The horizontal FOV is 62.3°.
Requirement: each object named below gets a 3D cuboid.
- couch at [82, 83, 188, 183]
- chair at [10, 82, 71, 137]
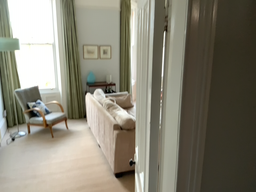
[{"bbox_3d":[-0.110,0.380,3.760,1.050,0.820,2.330,-4,14,-19],"label":"couch"},{"bbox_3d":[-1.730,0.230,4.290,0.850,0.880,0.650,5,14,18],"label":"chair"}]
